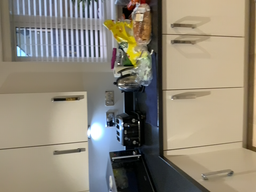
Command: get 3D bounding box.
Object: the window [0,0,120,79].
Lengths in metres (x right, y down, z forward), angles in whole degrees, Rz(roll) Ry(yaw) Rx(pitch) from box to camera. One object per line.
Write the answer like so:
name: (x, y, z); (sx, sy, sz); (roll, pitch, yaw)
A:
window: (-0.630, -0.680, 2.020); (0.030, 1.110, 1.010); (-171, 80, -74)
